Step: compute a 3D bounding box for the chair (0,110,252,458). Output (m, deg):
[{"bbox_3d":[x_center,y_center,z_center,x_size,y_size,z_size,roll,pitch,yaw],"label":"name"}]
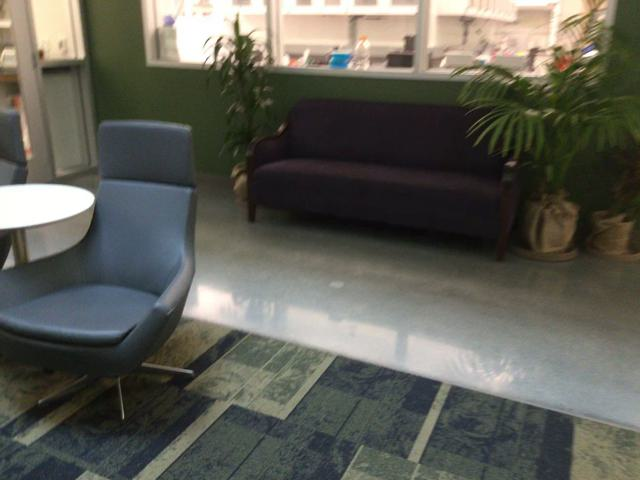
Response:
[{"bbox_3d":[-0.740,0.050,2.110,0.750,0.990,0.890,4,14,9],"label":"chair"}]
